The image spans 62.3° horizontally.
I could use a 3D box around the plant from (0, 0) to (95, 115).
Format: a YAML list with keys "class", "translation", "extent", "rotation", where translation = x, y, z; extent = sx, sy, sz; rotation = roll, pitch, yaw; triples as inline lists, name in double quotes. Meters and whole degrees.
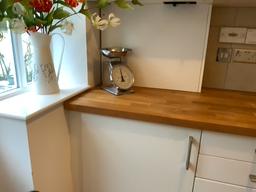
- class: "plant"
  translation: [-0.370, -0.330, 0.980]
  extent: [0.260, 0.690, 0.430]
  rotation: [7, 18, 15]
